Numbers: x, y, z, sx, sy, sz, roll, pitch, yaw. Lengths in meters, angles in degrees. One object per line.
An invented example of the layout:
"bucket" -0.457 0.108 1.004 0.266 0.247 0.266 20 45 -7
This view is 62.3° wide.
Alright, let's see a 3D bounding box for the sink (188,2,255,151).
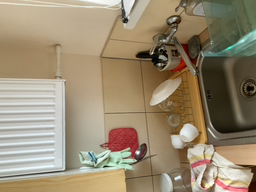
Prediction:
"sink" 0.500 -0.040 0.920 0.400 0.200 0.510 139 128 -65
